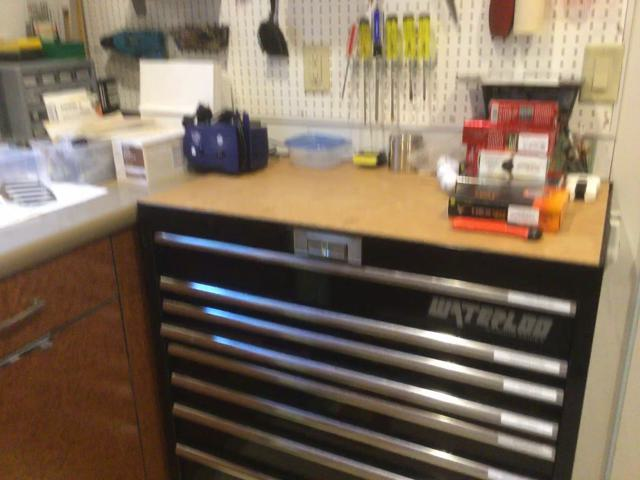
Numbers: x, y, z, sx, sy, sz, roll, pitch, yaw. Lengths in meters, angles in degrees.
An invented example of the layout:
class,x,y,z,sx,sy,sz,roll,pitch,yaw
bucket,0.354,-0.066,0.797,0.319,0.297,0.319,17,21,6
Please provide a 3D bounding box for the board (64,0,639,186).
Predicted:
class,x,y,z,sx,sy,sz,roll,pitch,yaw
board,-0.020,-0.850,1.280,1.510,1.340,0.120,8,23,24

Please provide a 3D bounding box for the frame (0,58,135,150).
class,x,y,z,sx,sy,sz,roll,pitch,yaw
frame,-0.680,-0.370,1.530,0.220,0.200,0.260,8,23,24

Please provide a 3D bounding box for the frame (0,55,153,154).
class,x,y,z,sx,sy,sz,roll,pitch,yaw
frame,-0.710,-0.390,1.600,0.270,0.210,0.380,8,23,24
